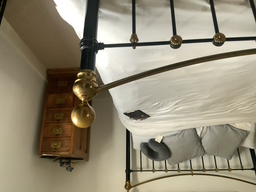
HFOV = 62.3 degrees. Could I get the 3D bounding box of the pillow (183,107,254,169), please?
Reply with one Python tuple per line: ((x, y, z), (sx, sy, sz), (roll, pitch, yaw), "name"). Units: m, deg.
((1.000, 0.450, 2.390), (0.530, 0.450, 0.230), (43, 144, 36), "pillow")
